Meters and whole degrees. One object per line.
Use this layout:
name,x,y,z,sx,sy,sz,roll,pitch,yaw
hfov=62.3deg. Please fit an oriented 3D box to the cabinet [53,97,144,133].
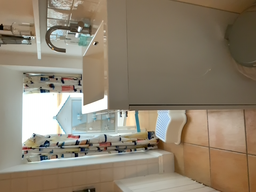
cabinet,-0.320,0.190,2.360,0.300,0.960,0.350,175,95,-68

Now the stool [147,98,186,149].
stool,0.320,0.230,1.860,0.310,0.140,0.330,-132,46,-59

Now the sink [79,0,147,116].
sink,-0.120,-0.130,1.090,0.610,0.160,0.450,165,104,-68
